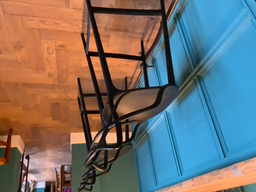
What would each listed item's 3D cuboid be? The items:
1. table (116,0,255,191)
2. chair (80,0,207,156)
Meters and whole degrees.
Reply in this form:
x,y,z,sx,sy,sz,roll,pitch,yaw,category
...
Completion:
x,y,z,sx,sy,sz,roll,pitch,yaw,category
0.450,0.110,1.660,0.620,1.110,2.140,0,151,-15,table
-0.010,-0.170,1.250,0.510,0.890,0.450,-1,152,-14,chair
